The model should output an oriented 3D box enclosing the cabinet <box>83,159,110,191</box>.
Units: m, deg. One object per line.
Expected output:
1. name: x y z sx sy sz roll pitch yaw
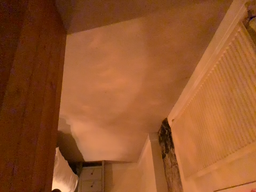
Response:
1. cabinet: -0.620 1.630 4.250 0.480 0.610 0.400 -2 150 -5
